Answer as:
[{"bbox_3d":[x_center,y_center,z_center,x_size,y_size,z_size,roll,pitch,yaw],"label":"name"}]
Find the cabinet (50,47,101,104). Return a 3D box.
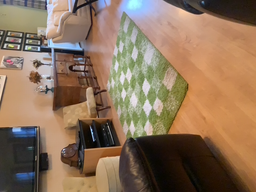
[{"bbox_3d":[-1.100,-0.440,4.220,1.280,0.780,0.500,-118,36,-48],"label":"cabinet"}]
